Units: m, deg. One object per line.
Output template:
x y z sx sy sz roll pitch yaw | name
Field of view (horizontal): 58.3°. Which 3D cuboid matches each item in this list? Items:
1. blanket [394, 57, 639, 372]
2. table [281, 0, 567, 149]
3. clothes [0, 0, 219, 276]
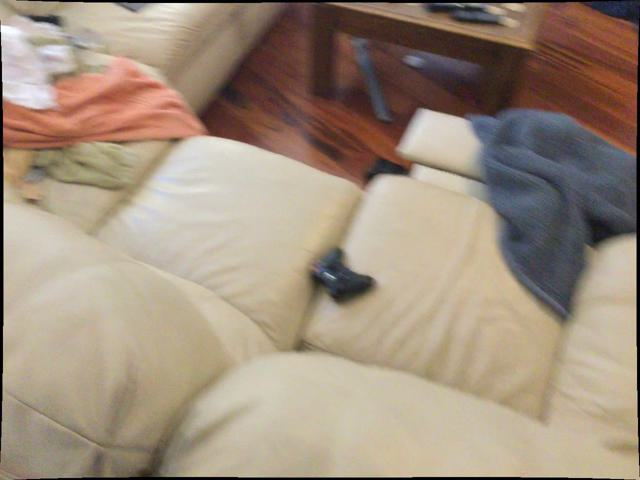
0.649 -0.080 1.700 0.779 0.530 0.690 5 52 4 | blanket
0.460 -0.961 2.430 0.989 0.480 0.890 14 53 10 | table
-0.699 -0.320 1.590 0.640 0.350 0.460 -37 61 -26 | clothes
